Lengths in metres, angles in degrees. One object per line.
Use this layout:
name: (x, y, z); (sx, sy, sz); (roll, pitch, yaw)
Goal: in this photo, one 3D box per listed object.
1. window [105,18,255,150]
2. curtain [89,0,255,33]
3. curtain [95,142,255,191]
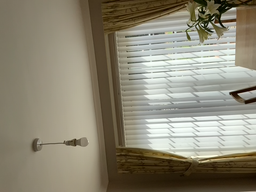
window: (0.840, -0.100, 2.990); (0.130, 2.150, 1.750); (-78, -16, -75)
curtain: (0.720, -1.180, 2.640); (0.190, 2.390, 0.570); (-77, -17, -76)
curtain: (0.820, 1.070, 3.110); (0.290, 2.520, 0.620); (-72, -22, -79)
